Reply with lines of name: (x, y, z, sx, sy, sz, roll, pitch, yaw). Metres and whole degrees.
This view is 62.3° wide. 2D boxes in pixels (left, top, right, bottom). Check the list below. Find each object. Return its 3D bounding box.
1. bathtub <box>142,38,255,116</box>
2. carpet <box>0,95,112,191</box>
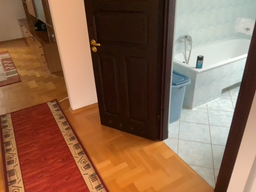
bathtub: (1.160, -0.400, 3.380, 1.790, 0.590, 0.700, -20, 35, -28)
carpet: (-0.930, 0.600, 2.290, 0.900, 0.100, 2.120, -16, 33, -23)
